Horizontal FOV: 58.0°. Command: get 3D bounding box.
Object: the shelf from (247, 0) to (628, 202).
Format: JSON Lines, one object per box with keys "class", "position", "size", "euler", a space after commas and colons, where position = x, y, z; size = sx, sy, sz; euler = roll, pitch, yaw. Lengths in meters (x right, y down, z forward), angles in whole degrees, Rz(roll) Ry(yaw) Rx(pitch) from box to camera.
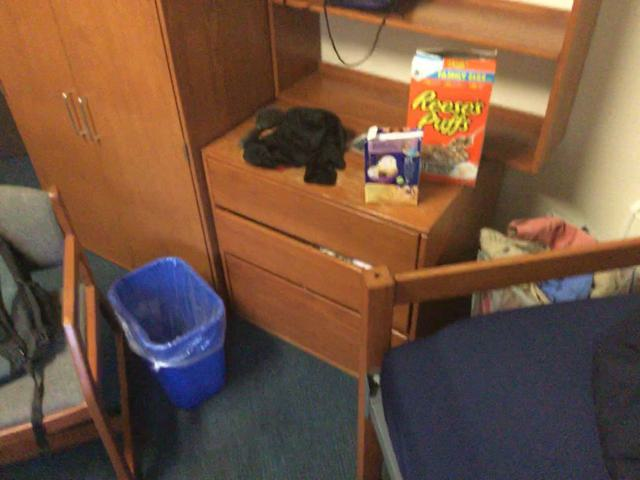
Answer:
{"class": "shelf", "position": [0.280, -0.650, 1.600], "size": [0.980, 0.750, 0.330], "euler": [23, 44, 26]}
